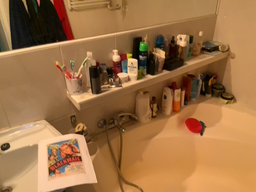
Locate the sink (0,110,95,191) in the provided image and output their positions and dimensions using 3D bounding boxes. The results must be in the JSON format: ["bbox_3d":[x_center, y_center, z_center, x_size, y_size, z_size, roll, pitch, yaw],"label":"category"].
[{"bbox_3d":[-0.520,0.360,0.870,0.600,0.220,0.490,-20,36,-30],"label":"sink"}]
